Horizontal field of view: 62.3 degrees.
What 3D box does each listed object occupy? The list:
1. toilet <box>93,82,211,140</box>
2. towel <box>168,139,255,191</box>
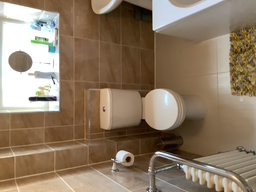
[{"bbox_3d":[0.190,0.110,1.930,0.740,0.760,0.390,-3,87,56],"label":"toilet"},{"bbox_3d":[0.640,0.390,1.230,0.500,0.630,0.120,1,91,56],"label":"towel"}]
